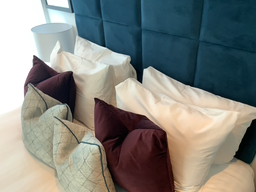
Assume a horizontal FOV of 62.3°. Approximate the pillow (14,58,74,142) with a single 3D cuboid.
[{"bbox_3d":[-0.550,0.020,1.390,0.220,0.380,0.340,-20,51,-38],"label":"pillow"}]
